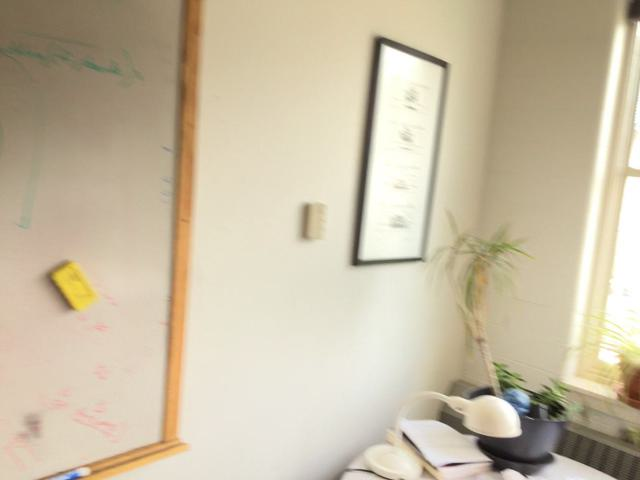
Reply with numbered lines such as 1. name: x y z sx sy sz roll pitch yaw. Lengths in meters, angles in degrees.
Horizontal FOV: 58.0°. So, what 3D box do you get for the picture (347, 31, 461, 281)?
1. picture: 0.310 -0.270 2.050 0.030 0.800 0.500 11 9 44
